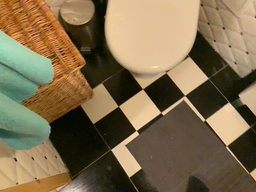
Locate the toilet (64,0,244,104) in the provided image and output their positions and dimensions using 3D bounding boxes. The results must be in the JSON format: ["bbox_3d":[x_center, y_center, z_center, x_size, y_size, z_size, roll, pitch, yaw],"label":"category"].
[{"bbox_3d":[0.110,-0.390,0.880,0.370,0.760,0.650,10,76,3],"label":"toilet"}]
